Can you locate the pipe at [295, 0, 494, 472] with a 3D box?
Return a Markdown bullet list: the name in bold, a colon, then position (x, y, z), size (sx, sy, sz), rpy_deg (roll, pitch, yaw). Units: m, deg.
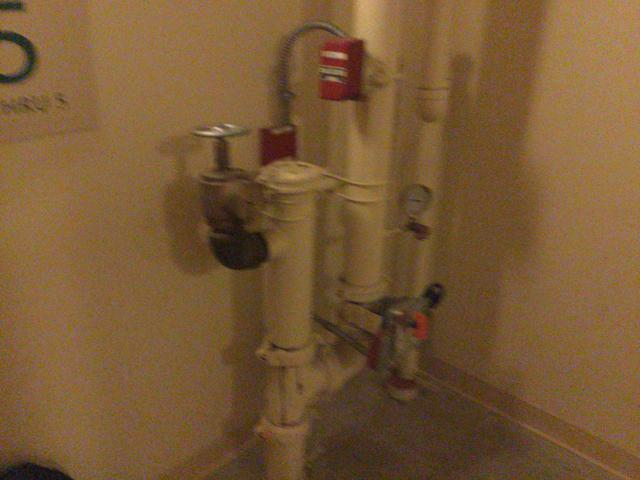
- **pipe**: position (0.090, -0.730, 1.290), size (0.210, 3.020, 0.310), rpy_deg (-30, 29, -35)
